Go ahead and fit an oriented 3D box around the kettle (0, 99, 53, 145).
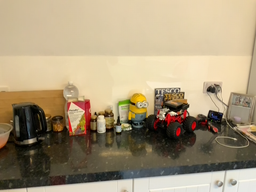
[{"bbox_3d":[-0.620,0.150,1.320,0.240,0.210,0.210,-2,15,-10],"label":"kettle"}]
